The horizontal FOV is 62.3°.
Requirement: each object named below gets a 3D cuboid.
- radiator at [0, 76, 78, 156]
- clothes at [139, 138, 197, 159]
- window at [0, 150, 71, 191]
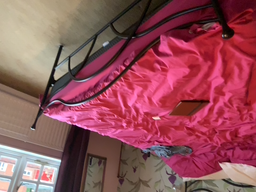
[{"bbox_3d":[-1.420,0.240,2.820,1.560,0.760,0.080,28,144,-36],"label":"radiator"},{"bbox_3d":[0.440,0.600,2.370,0.420,0.070,0.470,24,147,-31],"label":"clothes"},{"bbox_3d":[-1.640,1.220,2.550,1.880,1.080,0.100,28,144,-36],"label":"window"}]
